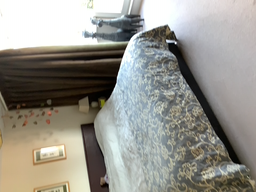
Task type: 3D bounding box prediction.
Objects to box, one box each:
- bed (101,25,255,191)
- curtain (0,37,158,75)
[{"bbox_3d":[0.290,0.540,3.000,2.160,0.710,1.980,112,147,-53],"label":"bed"},{"bbox_3d":[-0.650,-0.640,3.270,0.450,2.200,0.290,109,149,-51],"label":"curtain"}]
